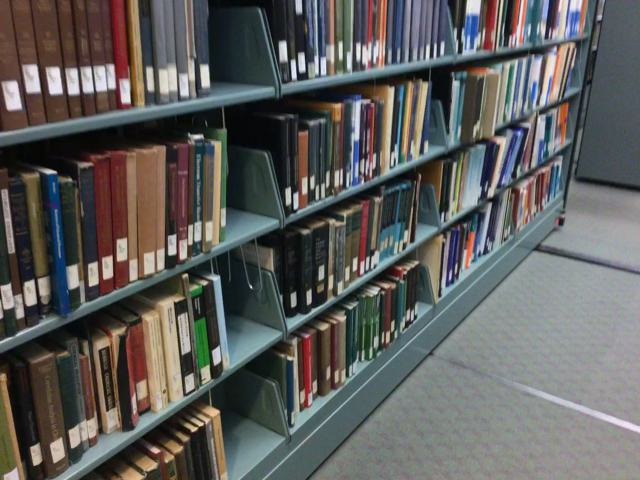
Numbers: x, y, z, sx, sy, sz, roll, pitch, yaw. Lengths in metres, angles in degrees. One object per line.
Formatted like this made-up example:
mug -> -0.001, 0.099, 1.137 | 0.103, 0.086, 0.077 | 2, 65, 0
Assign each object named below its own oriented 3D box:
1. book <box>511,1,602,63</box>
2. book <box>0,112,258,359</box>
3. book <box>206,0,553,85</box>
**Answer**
book -> 1.210, -1.050, 2.920 | 0.220, 0.260, 0.750 | 13, 24, 33
book -> -0.470, -0.040, 1.000 | 0.320, 0.250, 0.740 | 12, 24, 31
book -> 0.390, -0.740, 1.940 | 0.260, 0.270, 1.870 | 13, 24, 33
